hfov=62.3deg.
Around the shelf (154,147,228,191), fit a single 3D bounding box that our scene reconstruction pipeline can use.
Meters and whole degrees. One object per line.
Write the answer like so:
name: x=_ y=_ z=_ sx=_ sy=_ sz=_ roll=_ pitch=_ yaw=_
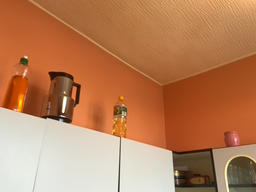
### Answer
shelf: x=0.440 y=0.730 z=1.440 sx=0.400 sy=0.670 sz=0.280 roll=-20 pitch=-31 yaw=38
